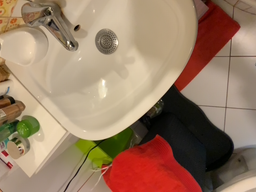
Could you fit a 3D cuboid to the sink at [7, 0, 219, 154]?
[{"bbox_3d":[-0.080,-0.130,0.600,0.380,0.120,0.490,46,118,3],"label":"sink"}]
